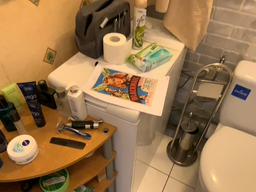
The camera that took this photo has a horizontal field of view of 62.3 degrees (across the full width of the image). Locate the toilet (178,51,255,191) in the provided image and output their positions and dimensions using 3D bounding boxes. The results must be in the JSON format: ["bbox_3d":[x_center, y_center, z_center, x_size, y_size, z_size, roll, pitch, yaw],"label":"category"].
[{"bbox_3d":[0.590,0.300,1.140,0.370,0.780,0.640,23,49,18],"label":"toilet"}]
